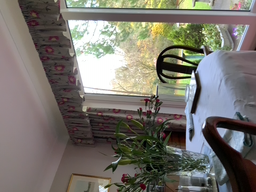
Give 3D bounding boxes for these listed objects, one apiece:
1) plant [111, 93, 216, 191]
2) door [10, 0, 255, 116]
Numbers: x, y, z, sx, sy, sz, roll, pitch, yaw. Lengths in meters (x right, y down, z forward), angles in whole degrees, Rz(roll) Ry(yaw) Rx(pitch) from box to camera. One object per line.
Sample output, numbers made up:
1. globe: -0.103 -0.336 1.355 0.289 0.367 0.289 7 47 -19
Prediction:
1. plant: 0.150 0.250 1.060 0.270 0.400 0.430 -80 -8 -49
2. door: 0.180 -0.650 2.060 2.200 2.500 0.150 89 -173 -46
